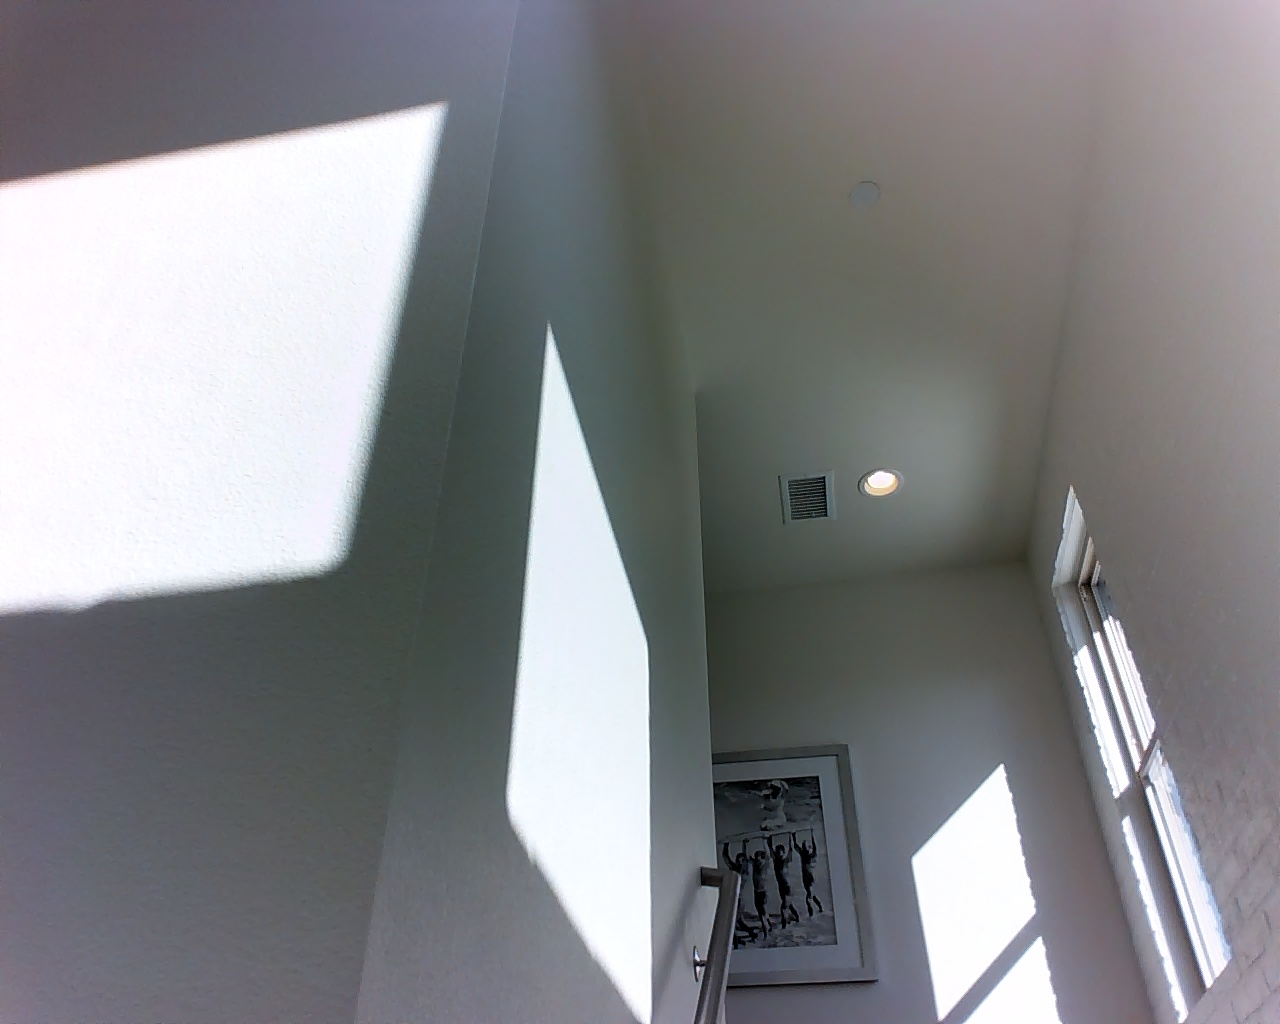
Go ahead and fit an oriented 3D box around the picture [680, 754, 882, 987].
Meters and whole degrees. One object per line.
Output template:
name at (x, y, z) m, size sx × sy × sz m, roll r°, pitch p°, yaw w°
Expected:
picture at (0.470, 1.241, 3.780) m, size 0.650 × 0.790 × 0.030 m, roll -6°, pitch -41°, yaw 8°
